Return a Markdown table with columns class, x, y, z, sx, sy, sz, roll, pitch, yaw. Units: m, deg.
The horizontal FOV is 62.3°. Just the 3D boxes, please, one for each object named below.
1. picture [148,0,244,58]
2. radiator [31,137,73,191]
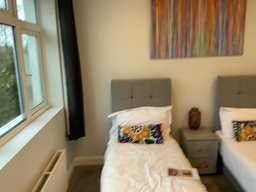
| class | x | y | z | sx | sy | sz | roll | pitch | yaw |
| --- | --- | --- | --- | --- | --- | --- | --- | --- | --- |
| picture | 0.850 | -0.910 | 2.690 | 1.190 | 0.810 | 0.050 | -2 | 12 | -3 |
| radiator | -0.650 | 0.920 | 1.700 | 0.080 | 0.560 | 1.670 | -2 | 12 | -4 |
